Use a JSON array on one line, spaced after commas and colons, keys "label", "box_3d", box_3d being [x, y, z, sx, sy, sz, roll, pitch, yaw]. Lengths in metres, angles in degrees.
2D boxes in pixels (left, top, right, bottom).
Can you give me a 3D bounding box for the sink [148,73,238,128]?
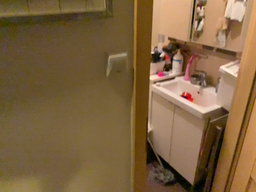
[{"label": "sink", "box_3d": [0.530, 0.000, 1.850, 0.420, 0.160, 0.610, -16, 30, -28]}]
